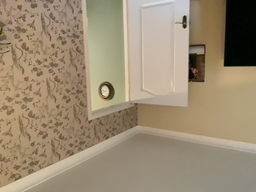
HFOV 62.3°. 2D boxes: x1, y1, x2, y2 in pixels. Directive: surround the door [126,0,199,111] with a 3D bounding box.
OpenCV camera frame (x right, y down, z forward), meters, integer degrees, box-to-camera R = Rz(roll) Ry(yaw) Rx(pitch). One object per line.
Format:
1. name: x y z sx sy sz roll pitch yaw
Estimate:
1. door: 0.370 -0.890 2.450 0.830 2.060 0.120 4 -169 30
